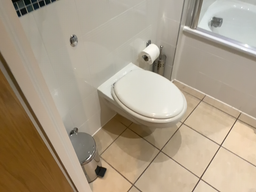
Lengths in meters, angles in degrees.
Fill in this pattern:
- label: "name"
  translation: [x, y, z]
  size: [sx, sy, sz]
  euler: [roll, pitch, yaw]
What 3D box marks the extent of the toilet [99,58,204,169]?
- label: "toilet"
  translation: [0.140, 0.110, 1.450]
  size: [0.520, 0.450, 0.360]
  euler: [31, 56, 27]
